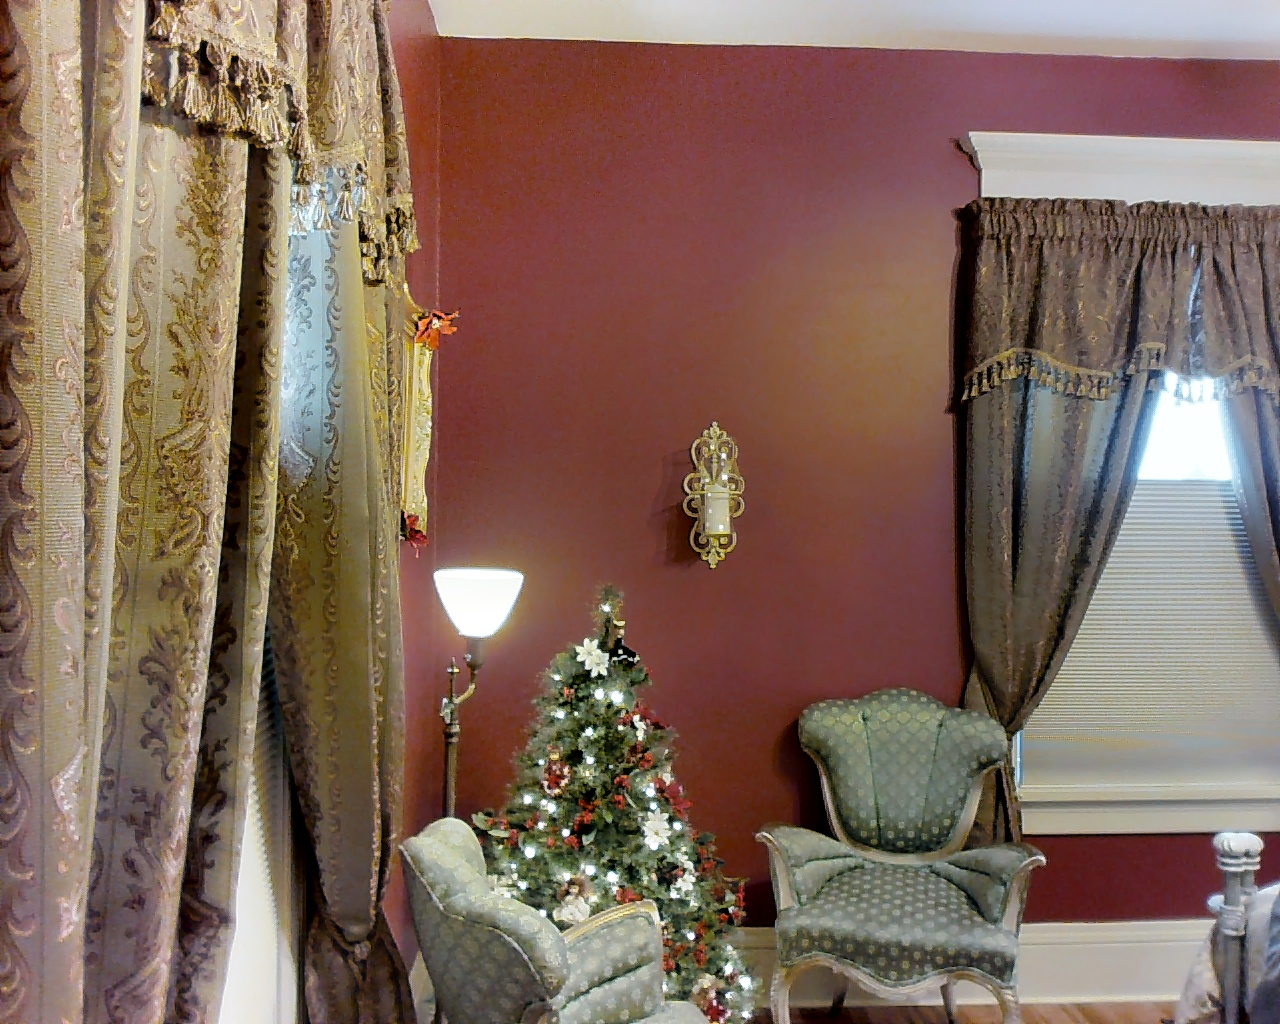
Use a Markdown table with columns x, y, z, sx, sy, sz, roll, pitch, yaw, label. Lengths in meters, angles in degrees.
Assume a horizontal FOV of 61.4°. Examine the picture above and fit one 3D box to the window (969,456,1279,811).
| x | y | z | sx | sy | sz | roll | pitch | yaw | label |
| --- | --- | --- | --- | --- | --- | --- | --- | --- | --- |
| 1.589 | 0.380 | 3.380 | 1.100 | 1.090 | 0.070 | 1 | 0 | -3 | window |
